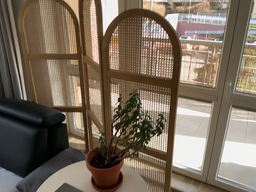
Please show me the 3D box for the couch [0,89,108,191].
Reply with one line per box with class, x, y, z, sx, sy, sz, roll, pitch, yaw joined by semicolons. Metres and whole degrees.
couch;-0.920;0.610;1.620;1.080;0.840;1.090;13;26;27
